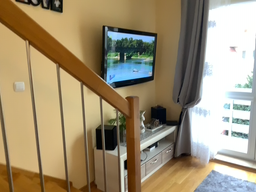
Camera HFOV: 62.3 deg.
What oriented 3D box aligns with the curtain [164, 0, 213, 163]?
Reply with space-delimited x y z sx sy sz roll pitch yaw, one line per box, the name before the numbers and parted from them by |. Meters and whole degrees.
curtain | 0.840 -0.290 3.040 0.560 2.390 0.260 7 12 39
